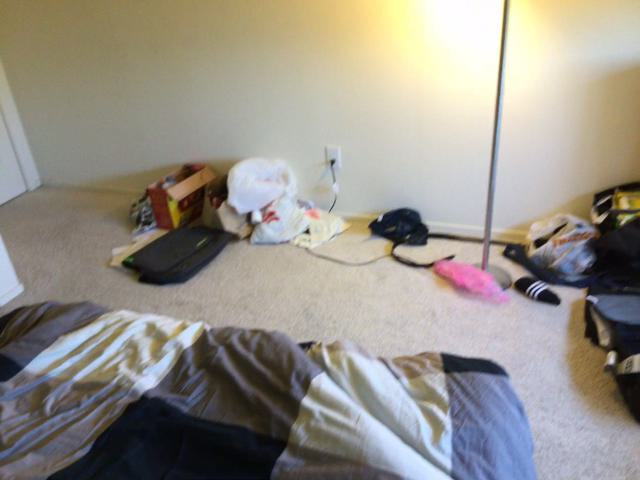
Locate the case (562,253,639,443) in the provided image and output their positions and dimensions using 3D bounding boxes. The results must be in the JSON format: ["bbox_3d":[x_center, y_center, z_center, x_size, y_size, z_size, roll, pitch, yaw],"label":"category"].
[{"bbox_3d":[1.230,0.320,1.890,0.690,0.190,0.760,1,29,13],"label":"case"}]

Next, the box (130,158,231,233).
[{"bbox_3d":[-0.740,-0.250,3.120,0.350,0.260,0.350,6,30,22],"label":"box"}]
